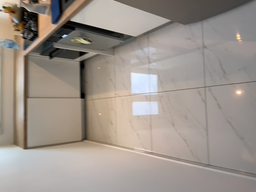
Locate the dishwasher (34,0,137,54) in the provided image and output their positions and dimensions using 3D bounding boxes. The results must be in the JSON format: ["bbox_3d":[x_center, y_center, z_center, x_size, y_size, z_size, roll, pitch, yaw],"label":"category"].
[{"bbox_3d":[-0.420,-0.840,2.170,0.560,0.870,0.610,0,89,51],"label":"dishwasher"}]

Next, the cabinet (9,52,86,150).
[{"bbox_3d":[-1.160,0.080,3.060,0.620,0.870,1.180,-6,85,50],"label":"cabinet"}]
